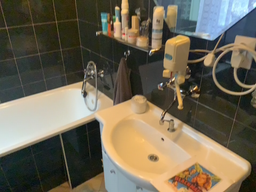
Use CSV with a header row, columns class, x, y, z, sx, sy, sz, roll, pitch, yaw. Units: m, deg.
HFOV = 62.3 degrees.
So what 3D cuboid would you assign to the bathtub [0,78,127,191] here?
class,x,y,z,sx,sy,sz,roll,pitch,yaw
bathtub,-0.910,0.470,1.700,1.680,0.630,0.750,-20,34,-31
